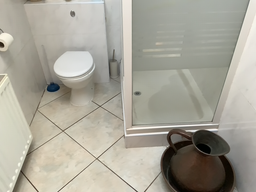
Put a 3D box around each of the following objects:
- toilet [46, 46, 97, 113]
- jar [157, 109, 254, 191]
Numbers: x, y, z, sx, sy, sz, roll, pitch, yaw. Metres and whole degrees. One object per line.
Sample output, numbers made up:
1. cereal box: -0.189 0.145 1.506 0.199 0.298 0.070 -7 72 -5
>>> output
1. toilet: -0.540 -0.180 2.190 0.370 0.470 0.510 -3 38 -3
2. jar: 0.470 0.390 1.450 0.430 0.400 0.420 -4 38 -4
